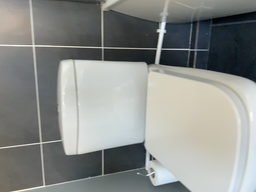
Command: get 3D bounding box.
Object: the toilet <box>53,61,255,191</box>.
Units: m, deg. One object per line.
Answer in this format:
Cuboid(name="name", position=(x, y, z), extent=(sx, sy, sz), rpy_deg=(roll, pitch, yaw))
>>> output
Cuboid(name="toilet", position=(0.170, 0.090, 0.820), extent=(0.710, 0.810, 0.390), rpy_deg=(-148, 58, -64))
